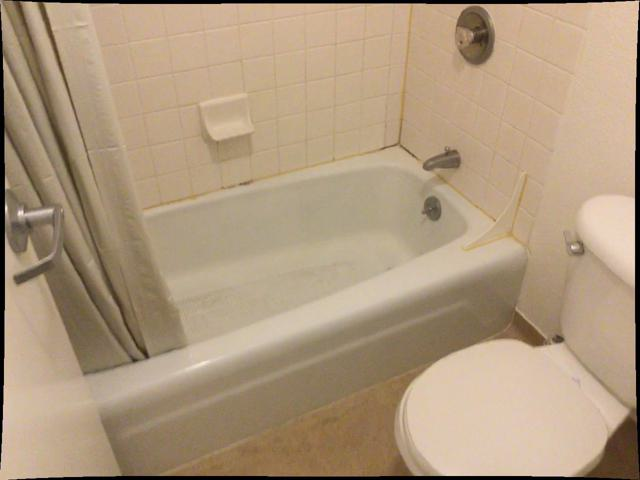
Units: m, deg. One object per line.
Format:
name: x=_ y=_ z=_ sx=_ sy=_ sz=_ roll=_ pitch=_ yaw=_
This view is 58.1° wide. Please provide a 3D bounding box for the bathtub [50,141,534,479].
bathtub: x=-0.110 y=0.150 z=1.890 sx=1.288 sy=0.390 sz=0.770 roll=-16 pitch=41 yaw=-20
